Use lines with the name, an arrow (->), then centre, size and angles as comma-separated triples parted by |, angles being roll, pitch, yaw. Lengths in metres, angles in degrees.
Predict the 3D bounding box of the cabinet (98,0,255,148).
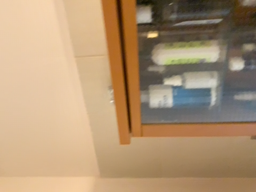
cabinet -> 0.310, -0.120, 0.460 | 0.210, 0.690, 0.410 | -83, -10, -60
